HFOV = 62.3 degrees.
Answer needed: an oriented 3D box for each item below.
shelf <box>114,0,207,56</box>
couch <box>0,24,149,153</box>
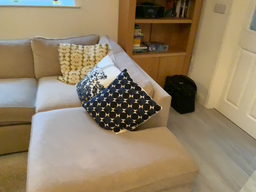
[{"bbox_3d":[0.390,-1.200,2.290,0.940,1.440,0.350,-6,31,-20],"label":"shelf"},{"bbox_3d":[-1.000,-0.130,1.940,2.090,0.830,0.910,-5,31,-19],"label":"couch"}]
